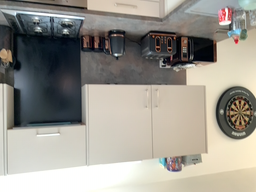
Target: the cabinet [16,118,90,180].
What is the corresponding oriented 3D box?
[{"bbox_3d":[-0.650,0.430,1.870,0.560,0.410,0.360,-1,179,-22],"label":"cabinet"}]
